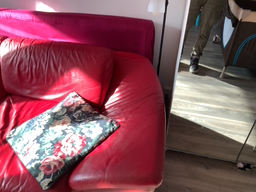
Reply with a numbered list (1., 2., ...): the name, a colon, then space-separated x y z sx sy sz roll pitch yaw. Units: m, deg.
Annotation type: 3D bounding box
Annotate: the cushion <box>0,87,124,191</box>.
1. cushion: -0.390 0.210 1.210 0.570 0.170 0.490 16 38 19
